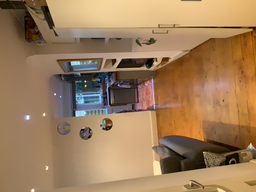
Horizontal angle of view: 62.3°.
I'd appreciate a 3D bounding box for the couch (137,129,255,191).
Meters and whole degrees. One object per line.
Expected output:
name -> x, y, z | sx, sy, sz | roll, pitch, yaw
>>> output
couch -> 0.710, 1.050, 2.400 | 1.050, 0.910, 1.170 | 163, 104, -78
